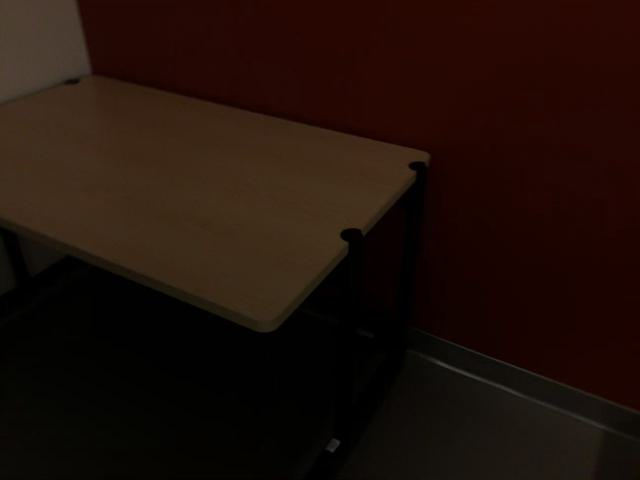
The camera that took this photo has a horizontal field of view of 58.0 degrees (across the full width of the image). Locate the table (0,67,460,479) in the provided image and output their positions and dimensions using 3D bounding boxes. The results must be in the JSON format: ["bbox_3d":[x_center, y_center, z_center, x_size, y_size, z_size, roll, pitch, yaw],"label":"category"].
[{"bbox_3d":[-0.400,0.080,1.590,1.250,0.730,0.790,18,36,26],"label":"table"}]
